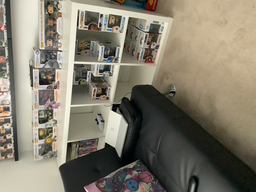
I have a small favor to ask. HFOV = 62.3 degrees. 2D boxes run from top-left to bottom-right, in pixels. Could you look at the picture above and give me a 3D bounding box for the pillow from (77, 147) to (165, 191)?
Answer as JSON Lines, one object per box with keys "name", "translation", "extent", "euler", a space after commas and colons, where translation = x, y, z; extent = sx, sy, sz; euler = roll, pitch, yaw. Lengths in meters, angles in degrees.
{"name": "pillow", "translation": [-0.030, 0.590, 1.260], "extent": [0.450, 0.410, 0.140], "euler": [49, 157, 50]}
